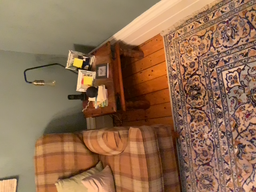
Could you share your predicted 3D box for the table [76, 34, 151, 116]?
[{"bbox_3d":[-0.170,-0.150,2.060,0.620,0.400,0.630,-12,81,51],"label":"table"}]
